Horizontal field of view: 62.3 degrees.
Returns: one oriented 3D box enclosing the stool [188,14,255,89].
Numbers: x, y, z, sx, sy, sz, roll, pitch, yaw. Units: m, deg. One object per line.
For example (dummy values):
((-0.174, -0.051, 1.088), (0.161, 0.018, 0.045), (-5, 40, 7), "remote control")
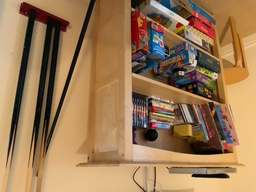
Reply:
((0.810, -0.360, 1.860), (0.340, 0.450, 0.370), (14, 157, -36), "stool")
